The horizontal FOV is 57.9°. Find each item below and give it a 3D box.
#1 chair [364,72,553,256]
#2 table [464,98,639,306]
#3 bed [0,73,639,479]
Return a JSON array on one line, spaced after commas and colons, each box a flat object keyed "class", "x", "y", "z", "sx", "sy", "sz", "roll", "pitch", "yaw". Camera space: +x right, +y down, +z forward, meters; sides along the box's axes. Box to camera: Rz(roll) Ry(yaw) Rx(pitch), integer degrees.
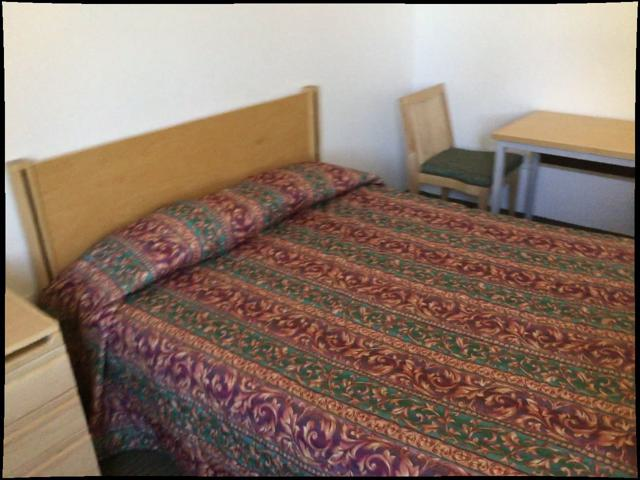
[{"class": "chair", "x": 0.799, "y": -0.501, "z": 3.480, "sx": 0.870, "sy": 0.821, "sz": 0.590, "roll": 20, "pitch": 35, "yaw": 38}, {"class": "table", "x": 1.389, "y": -0.250, "z": 3.020, "sx": 1.000, "sy": 0.731, "sz": 0.660, "roll": 20, "pitch": 35, "yaw": 38}, {"class": "bed", "x": 0.250, "y": 0.180, "z": 2.010, "sx": 2.139, "sy": 0.981, "sz": 1.809, "roll": 20, "pitch": 35, "yaw": 38}]
